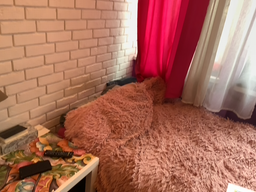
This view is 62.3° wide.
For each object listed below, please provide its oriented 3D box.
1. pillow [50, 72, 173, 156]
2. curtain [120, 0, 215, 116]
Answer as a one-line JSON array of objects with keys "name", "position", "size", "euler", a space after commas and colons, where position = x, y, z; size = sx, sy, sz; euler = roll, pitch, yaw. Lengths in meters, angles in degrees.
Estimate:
[{"name": "pillow", "position": [-0.080, 0.060, 1.750], "size": [0.530, 0.210, 0.910], "euler": [23, 28, 29]}, {"name": "curtain", "position": [0.440, -1.330, 1.600], "size": [0.670, 3.040, 0.240], "euler": [22, 28, 28]}]
